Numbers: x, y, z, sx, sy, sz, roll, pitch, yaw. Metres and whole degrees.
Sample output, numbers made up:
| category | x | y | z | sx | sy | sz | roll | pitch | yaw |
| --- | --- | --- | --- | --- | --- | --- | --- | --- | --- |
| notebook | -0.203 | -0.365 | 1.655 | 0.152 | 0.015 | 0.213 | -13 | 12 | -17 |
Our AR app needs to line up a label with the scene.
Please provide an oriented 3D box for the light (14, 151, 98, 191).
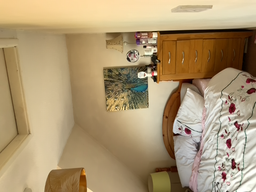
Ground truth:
| category | x | y | z | sx | sy | sz | roll | pitch | yaw |
| --- | --- | --- | --- | --- | --- | --- | --- | --- | --- |
| light | -0.460 | 0.650 | 1.370 | 0.360 | 0.380 | 0.410 | 40 | -145 | -46 |

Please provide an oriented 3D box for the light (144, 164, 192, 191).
| category | x | y | z | sx | sy | sz | roll | pitch | yaw |
| --- | --- | --- | --- | --- | --- | --- | --- | --- | --- |
| light | 0.580 | 1.260 | 3.200 | 0.480 | 0.600 | 0.310 | 126 | 142 | -84 |

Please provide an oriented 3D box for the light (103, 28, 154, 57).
| category | x | y | z | sx | sy | sz | roll | pitch | yaw |
| --- | --- | --- | --- | --- | --- | --- | --- | --- | --- |
| light | 0.000 | -0.700 | 2.730 | 0.320 | 0.610 | 0.260 | -98 | 7 | -57 |
